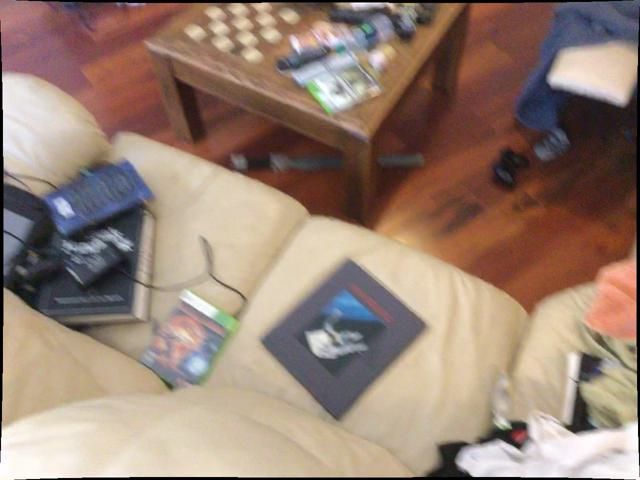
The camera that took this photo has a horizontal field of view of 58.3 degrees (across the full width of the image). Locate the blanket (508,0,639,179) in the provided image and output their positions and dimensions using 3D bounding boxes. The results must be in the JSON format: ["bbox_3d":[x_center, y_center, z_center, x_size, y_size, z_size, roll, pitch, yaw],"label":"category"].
[{"bbox_3d":[1.139,-0.711,2.110,0.689,0.530,0.780,12,56,8],"label":"blanket"}]

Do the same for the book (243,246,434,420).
[{"bbox_3d":[0.040,0.190,1.270,0.320,0.030,0.270,-31,61,-19],"label":"book"}]
